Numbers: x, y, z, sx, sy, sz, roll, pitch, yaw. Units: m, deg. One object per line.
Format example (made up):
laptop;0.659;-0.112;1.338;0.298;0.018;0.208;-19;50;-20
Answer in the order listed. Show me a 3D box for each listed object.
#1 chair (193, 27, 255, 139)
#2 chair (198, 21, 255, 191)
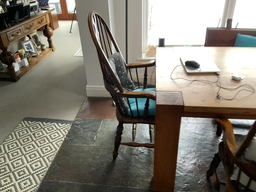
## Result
chair;1.490;-0.100;1.910;1.630;0.840;0.620;6;33;13
chair;0.770;0.290;1.060;0.600;1.140;0.580;5;33;11
